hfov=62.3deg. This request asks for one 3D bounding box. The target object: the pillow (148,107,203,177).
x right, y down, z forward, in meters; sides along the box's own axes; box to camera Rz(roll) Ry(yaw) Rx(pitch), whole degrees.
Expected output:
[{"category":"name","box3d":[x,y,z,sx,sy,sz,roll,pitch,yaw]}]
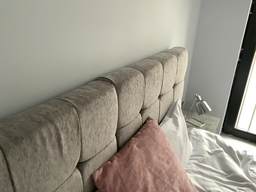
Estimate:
[{"category":"pillow","box3d":[0.330,0.270,1.400,0.120,0.370,0.450,23,9,27]}]
